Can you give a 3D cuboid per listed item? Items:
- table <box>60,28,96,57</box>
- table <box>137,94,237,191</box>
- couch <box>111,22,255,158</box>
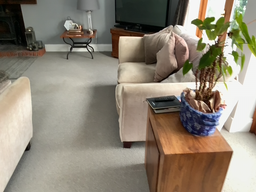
[{"bbox_3d":[-1.000,-1.110,4.360,0.630,0.460,0.500,-1,28,-3],"label":"table"},{"bbox_3d":[0.310,0.390,1.430,0.420,0.600,0.570,-1,28,-4],"label":"table"},{"bbox_3d":[0.350,-0.250,2.390,1.050,0.840,1.700,-1,28,-4],"label":"couch"}]
